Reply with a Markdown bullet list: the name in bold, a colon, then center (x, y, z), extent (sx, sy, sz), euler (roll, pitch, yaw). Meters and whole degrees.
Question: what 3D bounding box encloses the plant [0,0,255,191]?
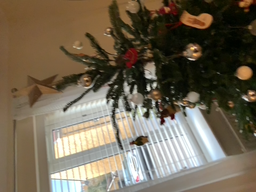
- **plant**: center (0.380, -0.250, 1.030), extent (1.110, 1.850, 1.000), euler (87, 166, -54)
